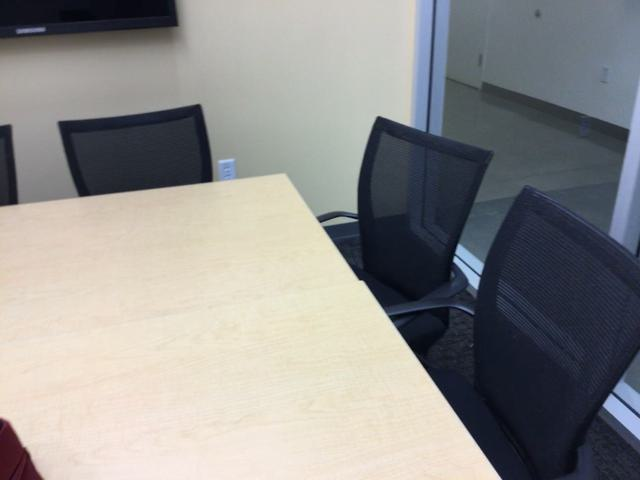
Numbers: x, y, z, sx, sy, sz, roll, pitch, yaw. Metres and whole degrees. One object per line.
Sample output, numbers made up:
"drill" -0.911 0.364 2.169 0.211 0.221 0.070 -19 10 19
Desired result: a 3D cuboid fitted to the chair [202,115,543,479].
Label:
"chair" 0.110 0.200 1.640 0.630 0.890 0.650 -13 27 -17
